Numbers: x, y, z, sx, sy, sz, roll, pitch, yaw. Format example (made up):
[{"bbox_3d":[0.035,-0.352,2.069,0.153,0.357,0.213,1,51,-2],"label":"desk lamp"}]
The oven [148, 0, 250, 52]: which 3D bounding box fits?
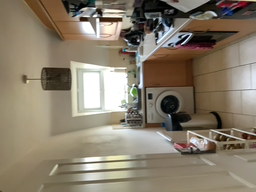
[{"bbox_3d":[0.750,-0.870,2.410,0.610,0.920,0.600,180,88,-84],"label":"oven"}]
